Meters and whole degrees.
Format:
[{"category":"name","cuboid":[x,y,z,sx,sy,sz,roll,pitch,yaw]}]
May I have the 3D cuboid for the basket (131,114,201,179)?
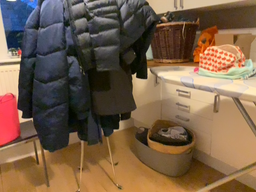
[{"category":"basket","cuboid":[0.320,0.420,1.940,0.340,0.310,0.540,-11,18,-32]}]
